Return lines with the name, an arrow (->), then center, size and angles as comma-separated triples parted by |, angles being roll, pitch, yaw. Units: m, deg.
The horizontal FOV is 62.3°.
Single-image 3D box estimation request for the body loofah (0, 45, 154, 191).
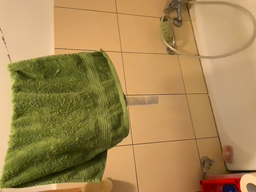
body loofah -> -0.160, 0.080, 0.660 | 0.240, 0.370, 0.370 | 138, 129, -65
